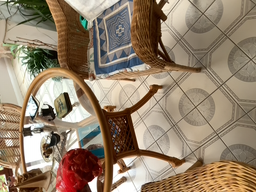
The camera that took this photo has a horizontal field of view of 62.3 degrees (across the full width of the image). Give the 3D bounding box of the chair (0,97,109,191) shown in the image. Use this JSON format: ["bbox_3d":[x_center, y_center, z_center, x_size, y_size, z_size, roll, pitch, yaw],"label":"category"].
[{"bbox_3d":[-0.740,0.400,1.860,0.660,0.800,0.550,30,110,38],"label":"chair"}]

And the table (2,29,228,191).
[{"bbox_3d":[-0.130,0.270,1.300,0.850,0.800,0.790,-48,60,32],"label":"table"}]

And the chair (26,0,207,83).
[{"bbox_3d":[-0.090,-0.460,1.090,0.720,0.550,0.680,-7,86,42],"label":"chair"}]
